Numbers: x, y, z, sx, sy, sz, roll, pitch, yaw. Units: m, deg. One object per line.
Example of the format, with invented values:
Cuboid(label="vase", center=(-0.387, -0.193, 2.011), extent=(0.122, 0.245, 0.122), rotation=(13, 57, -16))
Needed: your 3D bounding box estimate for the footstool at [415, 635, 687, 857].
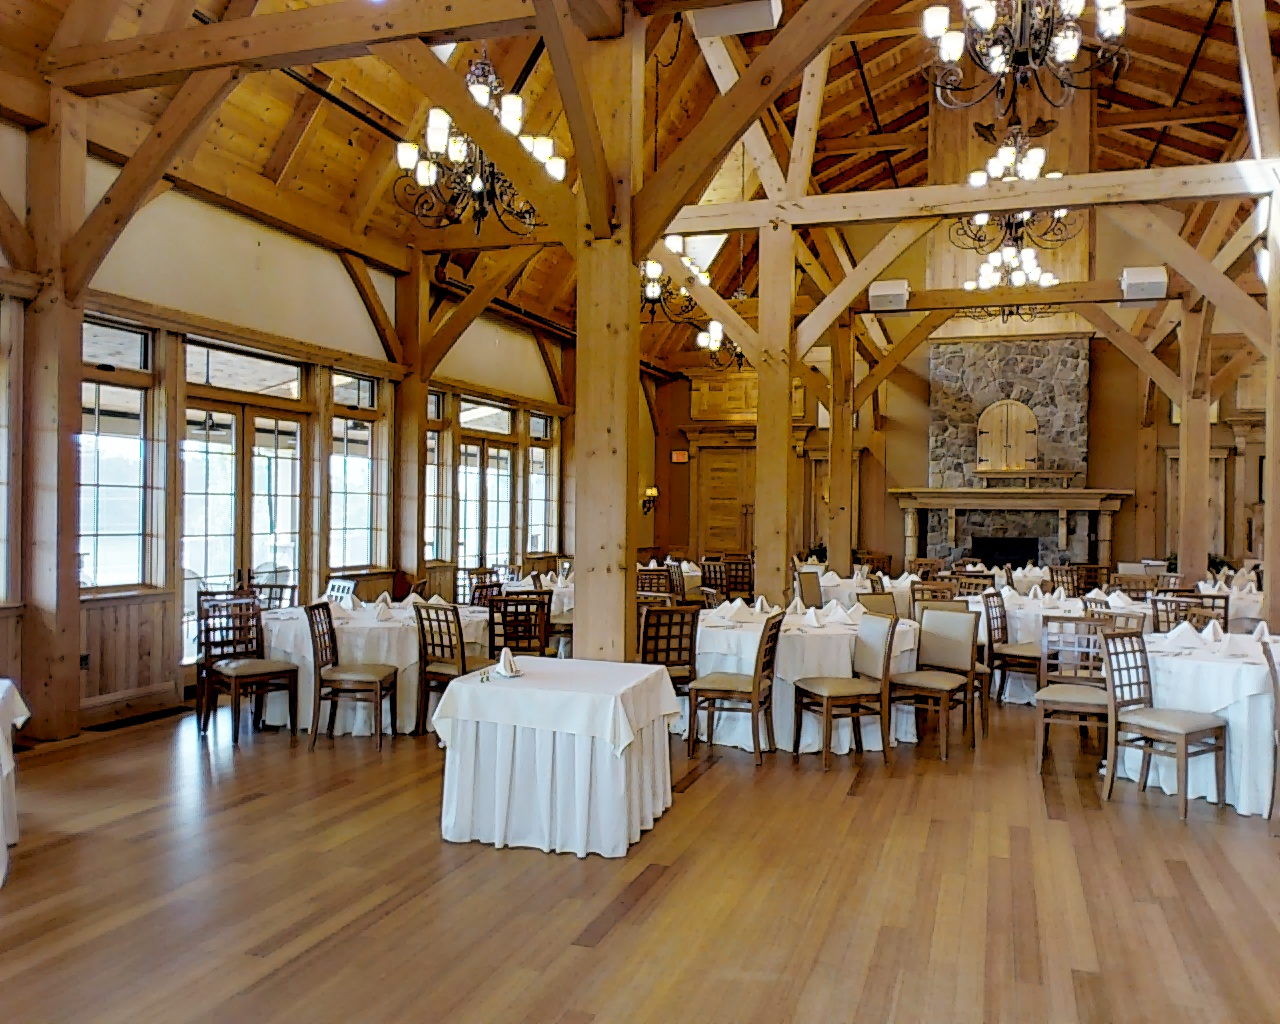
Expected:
Cuboid(label="footstool", center=(-0.400, 1.100, 5.350), extent=(1.000, 0.800, 1.090), rotation=(1, 0, 18))
